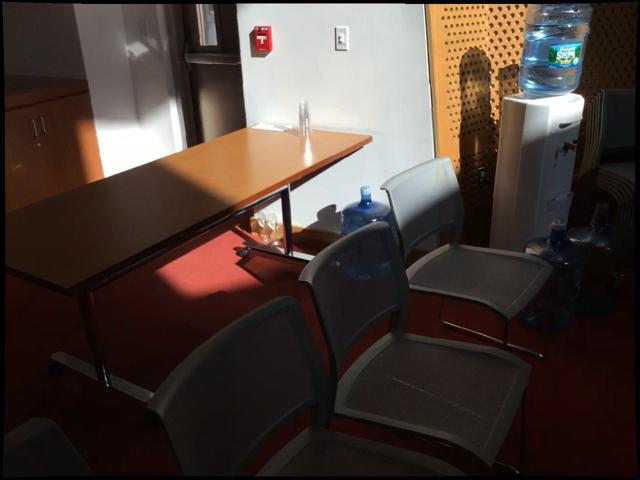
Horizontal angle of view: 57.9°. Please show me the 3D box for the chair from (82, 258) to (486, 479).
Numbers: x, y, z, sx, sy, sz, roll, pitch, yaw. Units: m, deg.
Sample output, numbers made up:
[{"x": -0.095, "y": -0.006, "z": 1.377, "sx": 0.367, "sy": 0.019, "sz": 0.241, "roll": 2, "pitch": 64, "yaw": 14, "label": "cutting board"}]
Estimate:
[{"x": 0.010, "y": 0.531, "z": 1.270, "sx": 0.530, "sy": 0.711, "sz": 0.600, "roll": 8, "pitch": 33, "yaw": 30, "label": "chair"}]

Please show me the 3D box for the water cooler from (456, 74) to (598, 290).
[{"x": 1.009, "y": -0.290, "z": 2.820, "sx": 0.520, "sy": 0.901, "sz": 0.440, "roll": 8, "pitch": 33, "yaw": 30, "label": "water cooler"}]

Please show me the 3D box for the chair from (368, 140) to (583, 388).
[{"x": 0.599, "y": 0.050, "z": 2.180, "sx": 0.540, "sy": 0.640, "sz": 0.570, "roll": 13, "pitch": 36, "yaw": 37, "label": "chair"}]

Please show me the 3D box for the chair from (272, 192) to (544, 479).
[{"x": 0.300, "y": 0.350, "z": 1.650, "sx": 0.520, "sy": 0.781, "sz": 0.540, "roll": 8, "pitch": 33, "yaw": 30, "label": "chair"}]

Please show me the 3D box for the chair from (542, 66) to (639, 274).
[{"x": 1.658, "y": -0.410, "z": 2.890, "sx": 0.759, "sy": 0.680, "sz": 0.910, "roll": -8, "pitch": 28, "yaw": 4, "label": "chair"}]
